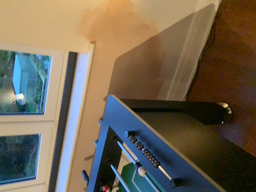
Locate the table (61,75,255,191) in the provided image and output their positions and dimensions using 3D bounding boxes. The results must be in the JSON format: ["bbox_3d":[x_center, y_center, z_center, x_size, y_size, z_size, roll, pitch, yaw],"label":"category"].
[{"bbox_3d":[0.210,0.800,1.250,1.080,0.910,1.530,35,117,51],"label":"table"}]
